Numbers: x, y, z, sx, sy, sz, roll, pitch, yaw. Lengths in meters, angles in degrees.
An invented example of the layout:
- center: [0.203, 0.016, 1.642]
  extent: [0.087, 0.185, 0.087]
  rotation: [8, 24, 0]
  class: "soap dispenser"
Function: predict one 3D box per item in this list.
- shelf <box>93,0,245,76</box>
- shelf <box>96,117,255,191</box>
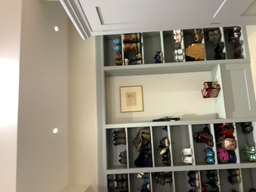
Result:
- center: [0.580, -1.030, 3.410]
  extent: [0.380, 2.210, 1.230]
  rotation: [80, -173, -79]
  class: "shelf"
- center: [0.690, 1.020, 3.030]
  extent: [0.370, 2.210, 1.290]
  rotation: [80, -173, -79]
  class: "shelf"
